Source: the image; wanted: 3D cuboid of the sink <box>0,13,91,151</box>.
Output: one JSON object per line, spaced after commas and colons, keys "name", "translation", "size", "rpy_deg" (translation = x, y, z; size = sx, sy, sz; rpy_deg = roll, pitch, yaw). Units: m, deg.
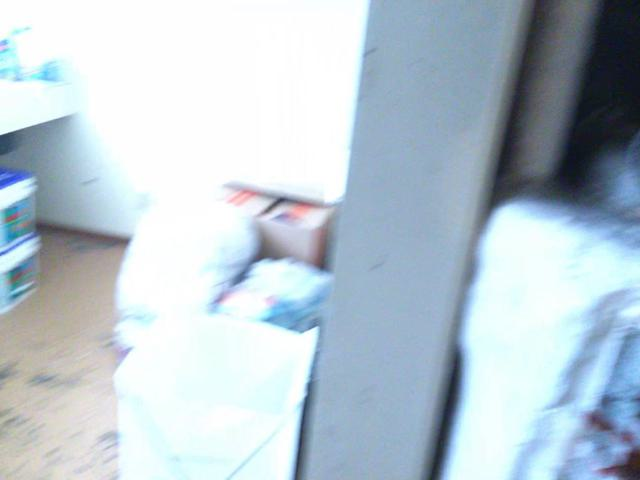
{"name": "sink", "translation": [-1.600, -0.710, 2.470], "size": [0.670, 0.510, 1.150], "rpy_deg": [11, 19, 6]}
